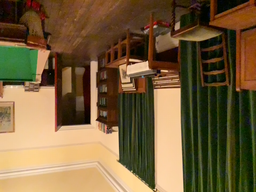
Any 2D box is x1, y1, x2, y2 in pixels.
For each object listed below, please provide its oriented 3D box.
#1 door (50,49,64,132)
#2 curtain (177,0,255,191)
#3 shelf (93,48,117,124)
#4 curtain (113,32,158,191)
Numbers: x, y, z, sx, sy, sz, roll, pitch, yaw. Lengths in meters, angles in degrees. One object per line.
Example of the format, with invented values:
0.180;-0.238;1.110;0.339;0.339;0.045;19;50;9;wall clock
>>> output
-2.040;-0.150;6.120;0.210;2.180;1.060;0;-179;-10;door
1.160;0.310;2.150;0.380;2.950;1.570;0;-179;-25;curtain
-0.630;-0.250;5.700;0.370;1.870;0.900;0;-179;-24;shelf
0.080;0.270;4.470;0.210;2.800;1.620;0;-179;-25;curtain
